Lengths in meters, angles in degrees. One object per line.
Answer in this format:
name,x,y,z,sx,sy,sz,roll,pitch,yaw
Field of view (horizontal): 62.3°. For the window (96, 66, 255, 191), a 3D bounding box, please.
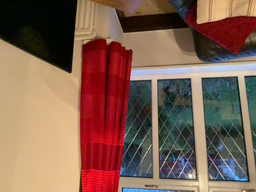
window,1.200,0.510,2.270,3.090,1.700,0.130,-1,166,8
